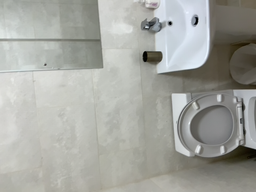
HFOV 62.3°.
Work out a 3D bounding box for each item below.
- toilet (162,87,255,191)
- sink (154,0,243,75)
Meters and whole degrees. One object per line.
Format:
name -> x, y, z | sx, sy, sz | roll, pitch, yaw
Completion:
toilet -> 0.730, 0.180, 1.230 | 0.590, 0.840, 0.420 | -178, 83, -69
sink -> 0.340, -0.410, 1.130 | 0.440, 0.190, 0.560 | -175, 80, -69
